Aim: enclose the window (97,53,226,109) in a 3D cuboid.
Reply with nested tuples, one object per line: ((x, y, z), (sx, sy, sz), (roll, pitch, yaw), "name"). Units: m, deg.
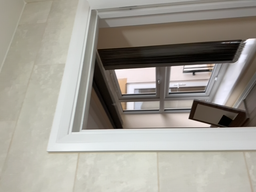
((0.410, -0.130, 2.870), (1.150, 1.410, 0.100), (76, -166, -62), "window")
